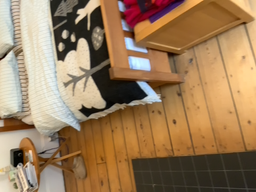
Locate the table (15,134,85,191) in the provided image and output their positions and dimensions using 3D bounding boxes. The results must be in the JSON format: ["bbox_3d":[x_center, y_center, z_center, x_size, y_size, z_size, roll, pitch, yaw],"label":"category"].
[{"bbox_3d":[-0.920,0.790,2.480,0.570,0.540,0.550,-20,77,44],"label":"table"}]
